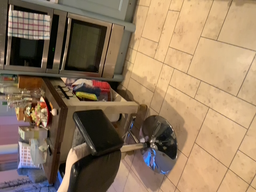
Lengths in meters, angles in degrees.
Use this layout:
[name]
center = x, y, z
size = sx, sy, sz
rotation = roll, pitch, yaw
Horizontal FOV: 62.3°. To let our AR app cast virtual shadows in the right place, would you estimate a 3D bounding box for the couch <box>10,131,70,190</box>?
[couch]
center = -1.690, 1.160, 4.050
size = 0.770, 0.870, 0.800
rotation = 0, 88, 55
